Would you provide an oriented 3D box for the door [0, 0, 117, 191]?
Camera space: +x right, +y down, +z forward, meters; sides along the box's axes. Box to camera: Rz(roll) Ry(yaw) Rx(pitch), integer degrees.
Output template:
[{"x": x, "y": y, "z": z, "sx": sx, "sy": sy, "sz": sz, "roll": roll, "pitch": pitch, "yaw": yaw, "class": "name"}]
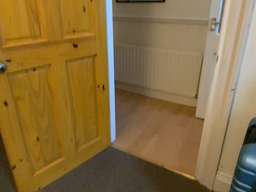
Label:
[{"x": -0.420, "y": -0.380, "z": 1.160, "sx": 0.080, "sy": 1.980, "sz": 0.890, "roll": 21, "pitch": 32, "yaw": 38, "class": "door"}]
